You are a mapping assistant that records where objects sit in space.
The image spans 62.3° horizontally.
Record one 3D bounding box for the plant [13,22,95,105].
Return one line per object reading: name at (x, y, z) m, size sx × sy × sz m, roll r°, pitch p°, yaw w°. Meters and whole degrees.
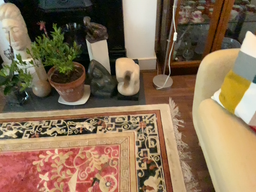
plant at (-0.520, -0.230, 1.650) m, size 0.410 × 0.590 × 0.250 m, roll -2°, pitch 45°, yaw 1°
